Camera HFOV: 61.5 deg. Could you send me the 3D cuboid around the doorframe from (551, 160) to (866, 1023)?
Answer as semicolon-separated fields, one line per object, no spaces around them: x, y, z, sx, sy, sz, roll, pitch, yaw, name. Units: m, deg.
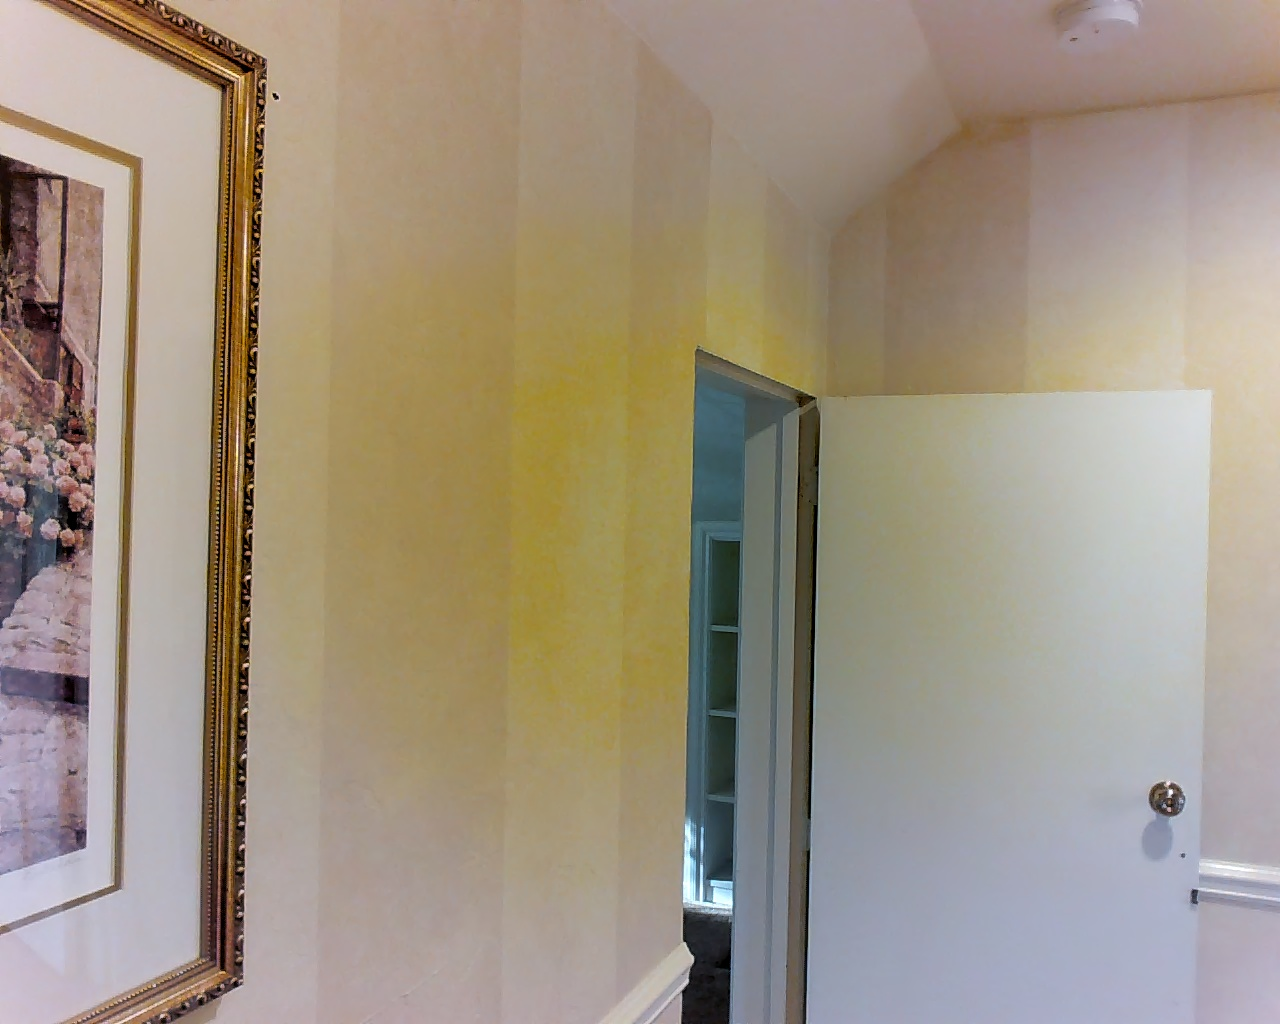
0.180;0.480;2.040;0.260;1.970;0.960;1;0;23;doorframe
